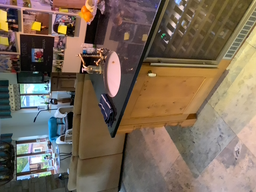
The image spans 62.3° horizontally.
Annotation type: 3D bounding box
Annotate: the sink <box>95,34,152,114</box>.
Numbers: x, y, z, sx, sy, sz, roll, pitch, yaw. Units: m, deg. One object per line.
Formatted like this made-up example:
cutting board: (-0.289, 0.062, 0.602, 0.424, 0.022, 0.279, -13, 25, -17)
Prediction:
sink: (-0.070, -0.190, 1.790, 0.490, 0.220, 0.460, 62, 144, 41)
